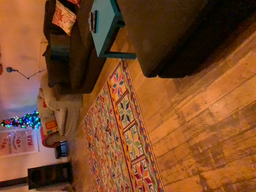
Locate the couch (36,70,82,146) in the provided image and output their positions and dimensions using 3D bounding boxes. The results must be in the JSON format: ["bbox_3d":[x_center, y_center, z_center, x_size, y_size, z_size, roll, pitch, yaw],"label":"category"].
[{"bbox_3d":[-1.700,0.260,5.040,1.100,0.790,1.360,55,138,45],"label":"couch"}]
